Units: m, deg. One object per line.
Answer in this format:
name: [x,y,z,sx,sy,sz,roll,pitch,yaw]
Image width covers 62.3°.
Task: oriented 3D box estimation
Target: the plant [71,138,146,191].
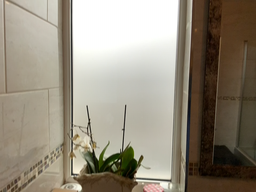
plant: [-0.070,0.330,0.890,0.270,0.240,0.190,2,5,8]
